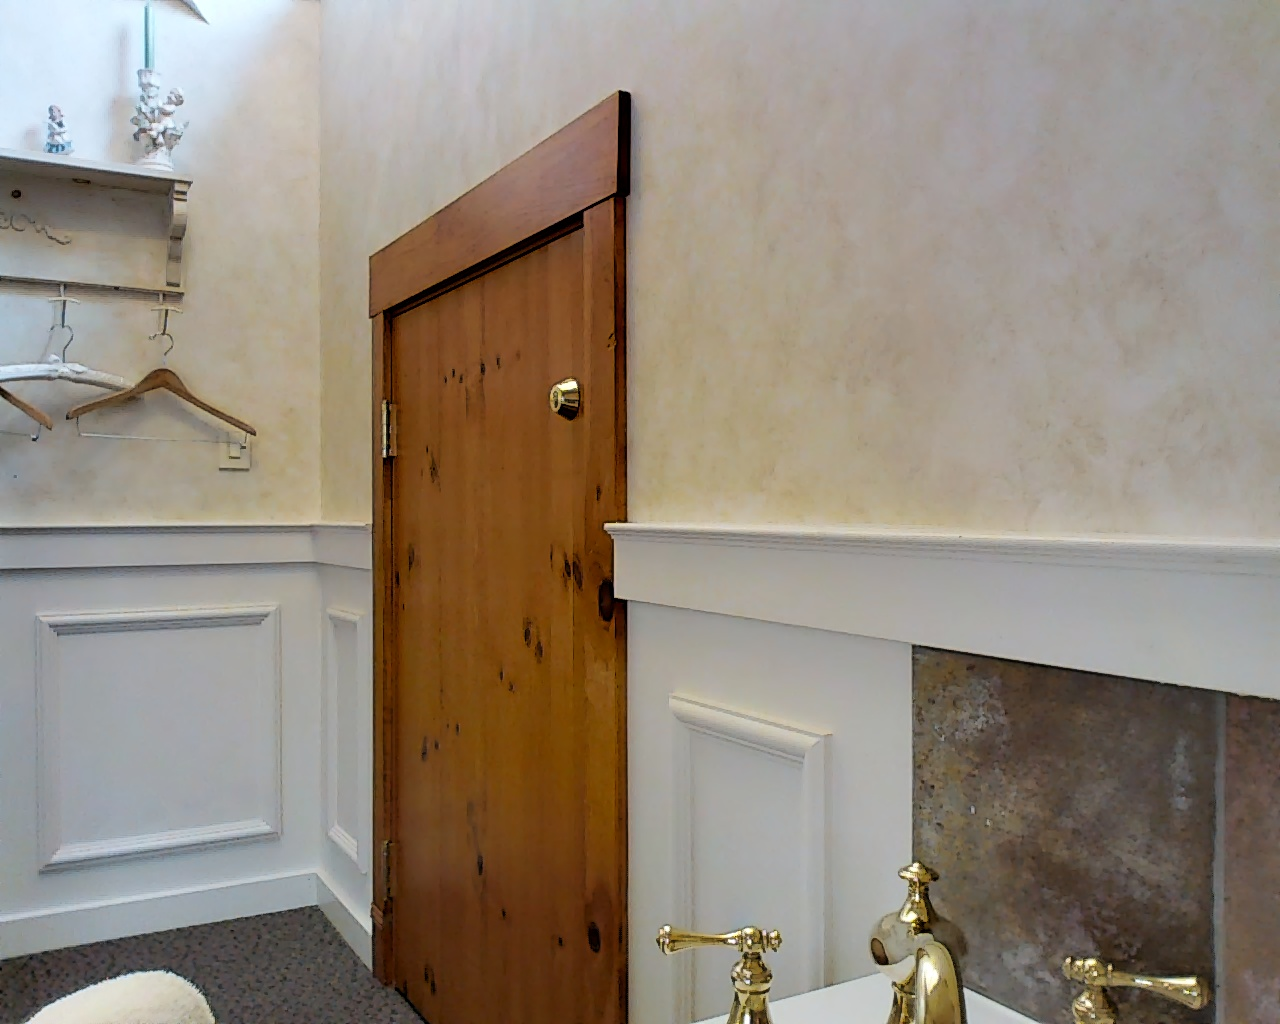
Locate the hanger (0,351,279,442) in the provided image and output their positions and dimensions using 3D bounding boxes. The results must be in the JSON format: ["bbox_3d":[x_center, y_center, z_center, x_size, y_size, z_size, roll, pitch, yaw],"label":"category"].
[{"bbox_3d":[-1.420,-0.270,2.480,1.110,0.180,0.140,0,1,-30],"label":"hanger"}]
